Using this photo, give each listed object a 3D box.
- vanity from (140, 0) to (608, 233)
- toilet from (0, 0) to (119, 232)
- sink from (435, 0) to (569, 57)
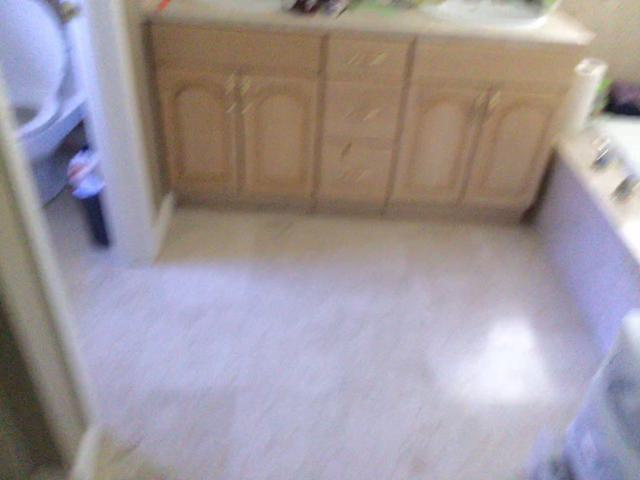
[{"bbox_3d":[0.170,-0.570,2.450,1.610,0.810,0.590,3,35,-3],"label":"vanity"},{"bbox_3d":[-1.200,-0.560,2.310,0.490,0.770,0.700,3,35,-3],"label":"toilet"},{"bbox_3d":[0.680,-0.860,2.230,0.380,0.160,0.390,3,35,-3],"label":"sink"}]
